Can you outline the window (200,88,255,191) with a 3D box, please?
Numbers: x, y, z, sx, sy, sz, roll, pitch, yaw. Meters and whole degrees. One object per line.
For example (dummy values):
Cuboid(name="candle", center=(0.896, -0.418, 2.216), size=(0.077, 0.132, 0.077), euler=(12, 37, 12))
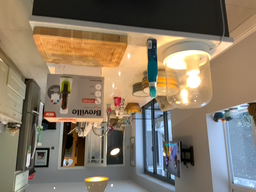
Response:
Cuboid(name="window", center=(1.430, 0.750, 2.390), size=(0.360, 1.530, 1.370), euler=(3, 166, -14))
